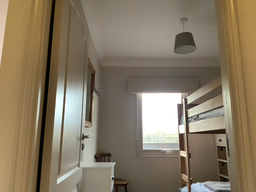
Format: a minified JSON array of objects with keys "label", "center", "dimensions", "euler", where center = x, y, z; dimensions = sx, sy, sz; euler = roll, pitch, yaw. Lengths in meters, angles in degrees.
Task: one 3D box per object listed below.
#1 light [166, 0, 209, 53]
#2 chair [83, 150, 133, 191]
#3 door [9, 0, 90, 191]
[{"label":"light","center":[0.610,-0.720,2.230],"dimensions":[0.340,0.440,0.290],"euler":[-2,-11,0]},{"label":"chair","center":[-0.270,1.200,2.990],"dimensions":[0.500,0.820,0.510],"euler":[-5,-12,26]},{"label":"door","center":[-0.390,0.220,1.270],"dimensions":[0.110,2.150,0.960],"euler":[1,-11,-3]}]
